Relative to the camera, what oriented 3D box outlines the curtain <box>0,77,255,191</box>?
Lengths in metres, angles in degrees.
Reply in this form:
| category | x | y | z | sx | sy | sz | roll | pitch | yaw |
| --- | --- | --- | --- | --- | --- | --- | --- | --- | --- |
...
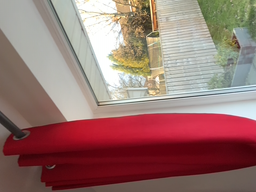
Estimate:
| category | x | y | z | sx | sy | sz | roll | pitch | yaw |
| --- | --- | --- | --- | --- | --- | --- | --- | --- | --- |
| curtain | 0.740 | 0.190 | 0.810 | 0.630 | 2.190 | 0.230 | 74 | -167 | -51 |
